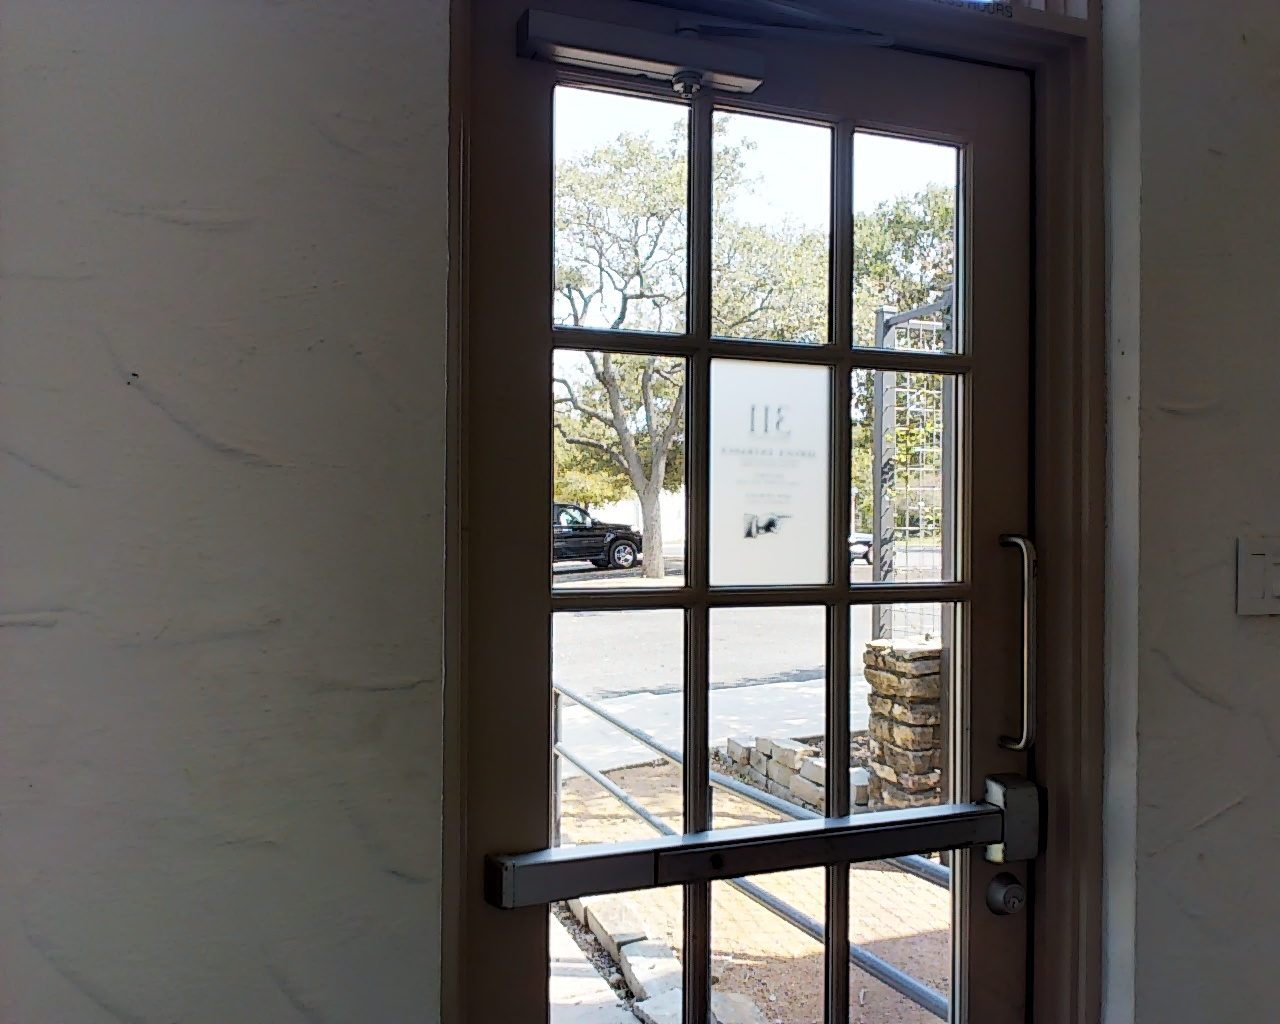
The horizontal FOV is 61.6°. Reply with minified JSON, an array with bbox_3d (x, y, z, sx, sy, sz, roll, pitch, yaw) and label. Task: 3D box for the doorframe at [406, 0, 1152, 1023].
[{"bbox_3d":[0.220,0.290,1.440,1.020,2.330,0.190,1,0,-22],"label":"doorframe"}]
